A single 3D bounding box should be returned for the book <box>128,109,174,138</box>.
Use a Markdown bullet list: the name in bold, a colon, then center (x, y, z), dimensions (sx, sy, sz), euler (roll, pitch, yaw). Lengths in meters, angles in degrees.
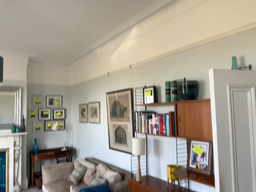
- **book**: center (0.280, 0.350, 2.840), dimensions (0.200, 0.340, 0.700), euler (1, -4, -33)
